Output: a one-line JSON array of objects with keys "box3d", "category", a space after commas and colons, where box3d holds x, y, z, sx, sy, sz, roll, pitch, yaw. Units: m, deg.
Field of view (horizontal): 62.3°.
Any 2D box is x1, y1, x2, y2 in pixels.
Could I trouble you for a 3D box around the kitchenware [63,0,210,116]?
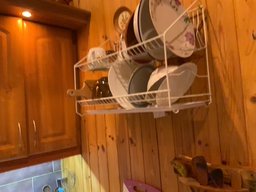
[{"box3d": [0.000, -0.130, 0.850, 0.260, 0.390, 0.520, -3, -2, -45], "category": "kitchenware"}]
